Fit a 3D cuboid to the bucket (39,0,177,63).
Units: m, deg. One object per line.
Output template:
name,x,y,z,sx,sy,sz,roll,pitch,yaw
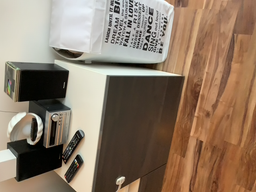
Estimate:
bucket,-0.080,-0.460,1.210,0.370,0.670,0.450,20,106,39
